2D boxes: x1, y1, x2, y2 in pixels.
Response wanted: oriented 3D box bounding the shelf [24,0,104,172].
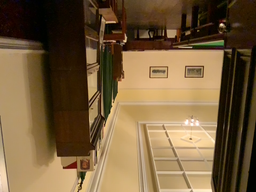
[{"bbox_3d":[-0.470,-0.440,1.850,0.370,1.870,0.900,1,-168,2],"label":"shelf"}]
